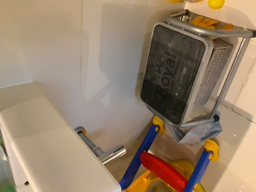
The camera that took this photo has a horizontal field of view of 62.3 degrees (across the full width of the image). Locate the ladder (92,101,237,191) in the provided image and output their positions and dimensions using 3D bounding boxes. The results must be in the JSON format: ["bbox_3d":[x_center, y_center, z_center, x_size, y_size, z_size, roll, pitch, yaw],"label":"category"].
[{"bbox_3d":[0.140,0.430,1.100,0.470,0.450,0.540,35,131,37],"label":"ladder"}]
